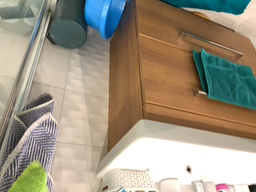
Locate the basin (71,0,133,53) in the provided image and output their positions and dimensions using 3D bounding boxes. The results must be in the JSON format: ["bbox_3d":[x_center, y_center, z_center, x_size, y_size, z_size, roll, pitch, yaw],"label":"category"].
[{"bbox_3d":[-0.130,-0.440,1.010,0.170,0.290,0.310,15,141,-23],"label":"basin"}]
